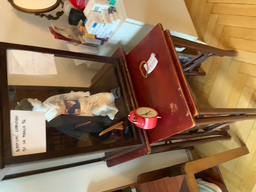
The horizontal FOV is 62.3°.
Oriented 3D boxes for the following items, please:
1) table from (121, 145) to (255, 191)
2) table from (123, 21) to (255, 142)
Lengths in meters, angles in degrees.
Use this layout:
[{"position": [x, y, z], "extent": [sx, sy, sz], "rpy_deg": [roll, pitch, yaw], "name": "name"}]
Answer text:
[{"position": [0.410, 0.690, 1.100], "extent": [0.430, 0.620, 0.690], "rpy_deg": [-38, 61, 47], "name": "table"}, {"position": [0.370, -0.060, 1.110], "extent": [0.240, 0.680, 0.460], "rpy_deg": [-38, 61, 47], "name": "table"}]
